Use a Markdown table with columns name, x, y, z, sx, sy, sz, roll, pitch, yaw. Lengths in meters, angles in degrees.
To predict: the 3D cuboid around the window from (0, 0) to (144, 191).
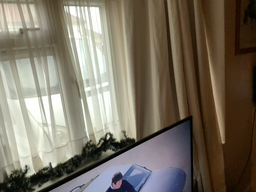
| name | x | y | z | sx | sy | sz | roll | pitch | yaw |
| --- | --- | --- | --- | --- | --- | --- | --- | --- | --- |
| window | -0.550 | -0.110 | 1.330 | 1.600 | 1.360 | 0.140 | -17 | 16 | -40 |
